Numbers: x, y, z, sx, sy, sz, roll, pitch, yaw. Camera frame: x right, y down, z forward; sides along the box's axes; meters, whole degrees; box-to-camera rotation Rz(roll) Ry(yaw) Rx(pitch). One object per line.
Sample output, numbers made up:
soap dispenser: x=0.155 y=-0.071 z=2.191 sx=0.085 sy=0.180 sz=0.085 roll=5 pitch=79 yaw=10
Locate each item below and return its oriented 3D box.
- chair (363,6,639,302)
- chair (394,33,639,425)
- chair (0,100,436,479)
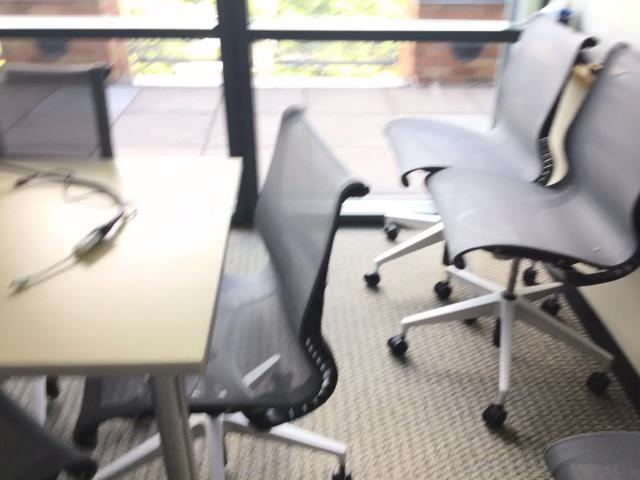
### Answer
chair: x=0.550 y=-0.320 z=2.080 sx=0.700 sy=0.880 sz=0.620 roll=1 pitch=30 yaw=-1
chair: x=0.590 y=-0.040 z=1.650 sx=0.610 sy=0.940 sz=0.600 roll=1 pitch=30 yaw=-1
chair: x=-0.220 y=0.240 z=1.260 sx=0.640 sy=0.890 sz=0.640 roll=-5 pitch=30 yaw=-11
